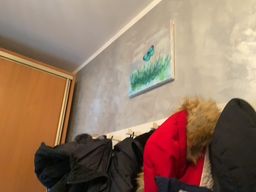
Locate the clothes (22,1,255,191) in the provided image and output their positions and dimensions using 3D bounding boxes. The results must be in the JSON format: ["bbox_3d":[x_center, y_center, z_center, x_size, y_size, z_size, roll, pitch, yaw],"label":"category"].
[{"bbox_3d":[-0.140,0.720,0.650,0.240,1.490,1.270,18,-27,-33],"label":"clothes"}]
